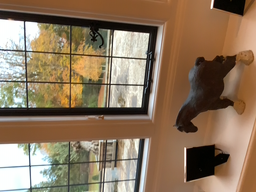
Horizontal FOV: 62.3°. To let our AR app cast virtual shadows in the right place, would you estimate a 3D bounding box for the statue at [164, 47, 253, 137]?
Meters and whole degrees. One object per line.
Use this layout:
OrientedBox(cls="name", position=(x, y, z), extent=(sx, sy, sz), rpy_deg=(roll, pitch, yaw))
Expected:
OrientedBox(cls="statue", position=(0.460, -0.030, 1.290), extent=(0.250, 0.340, 0.480), rpy_deg=(-128, 41, -66))
